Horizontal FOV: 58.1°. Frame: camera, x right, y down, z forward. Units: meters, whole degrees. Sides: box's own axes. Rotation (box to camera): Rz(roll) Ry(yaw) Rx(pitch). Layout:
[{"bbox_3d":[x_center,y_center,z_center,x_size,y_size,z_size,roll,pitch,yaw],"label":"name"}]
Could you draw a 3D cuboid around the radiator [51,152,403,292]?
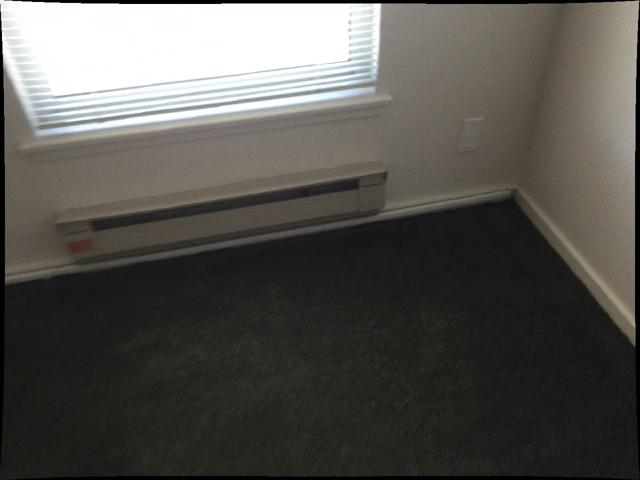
[{"bbox_3d":[-0.240,-0.060,1.700,0.969,0.240,0.100,-10,43,-11],"label":"radiator"}]
